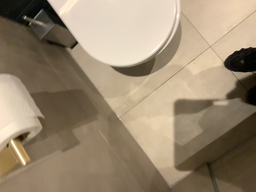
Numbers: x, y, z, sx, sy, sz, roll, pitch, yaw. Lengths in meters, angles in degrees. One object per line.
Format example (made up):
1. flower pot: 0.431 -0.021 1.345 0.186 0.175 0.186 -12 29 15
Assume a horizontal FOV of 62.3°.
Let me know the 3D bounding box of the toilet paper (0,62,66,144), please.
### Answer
1. toilet paper: -0.240 0.010 0.460 0.080 0.150 0.140 -34 85 13
